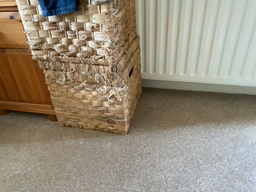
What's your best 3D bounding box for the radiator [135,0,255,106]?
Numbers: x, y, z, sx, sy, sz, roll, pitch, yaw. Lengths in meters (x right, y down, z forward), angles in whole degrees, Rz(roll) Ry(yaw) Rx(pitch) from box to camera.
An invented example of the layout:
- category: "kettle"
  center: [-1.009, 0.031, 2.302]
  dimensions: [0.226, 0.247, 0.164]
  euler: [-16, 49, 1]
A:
- category: "radiator"
  center: [0.650, -0.240, 1.000]
  dimensions: [1.220, 0.610, 0.130]
  euler: [5, 35, 12]
